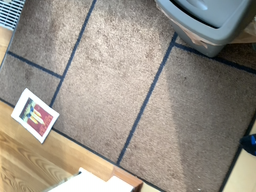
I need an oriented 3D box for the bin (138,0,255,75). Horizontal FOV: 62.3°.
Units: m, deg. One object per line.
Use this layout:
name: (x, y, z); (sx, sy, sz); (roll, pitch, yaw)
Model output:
bin: (0.290, -0.320, 0.780); (0.330, 0.520, 0.280); (35, 97, 16)
